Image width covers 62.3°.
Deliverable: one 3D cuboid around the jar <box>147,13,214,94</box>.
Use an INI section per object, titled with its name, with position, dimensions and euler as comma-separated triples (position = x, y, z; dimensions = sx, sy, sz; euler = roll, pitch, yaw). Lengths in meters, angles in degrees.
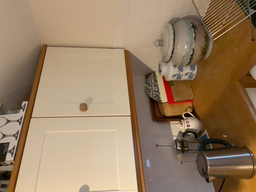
[jar]
position = 0.340, -0.280, 1.540
dimensions = 0.520, 0.280, 0.280
euler = 100, 167, -54
